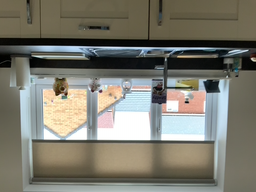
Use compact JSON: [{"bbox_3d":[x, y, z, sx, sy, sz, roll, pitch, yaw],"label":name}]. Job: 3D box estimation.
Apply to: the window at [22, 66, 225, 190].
[{"bbox_3d":[-0.040,0.300,2.050,1.800,1.140,0.240,1,-175,-1],"label":"window"}]
